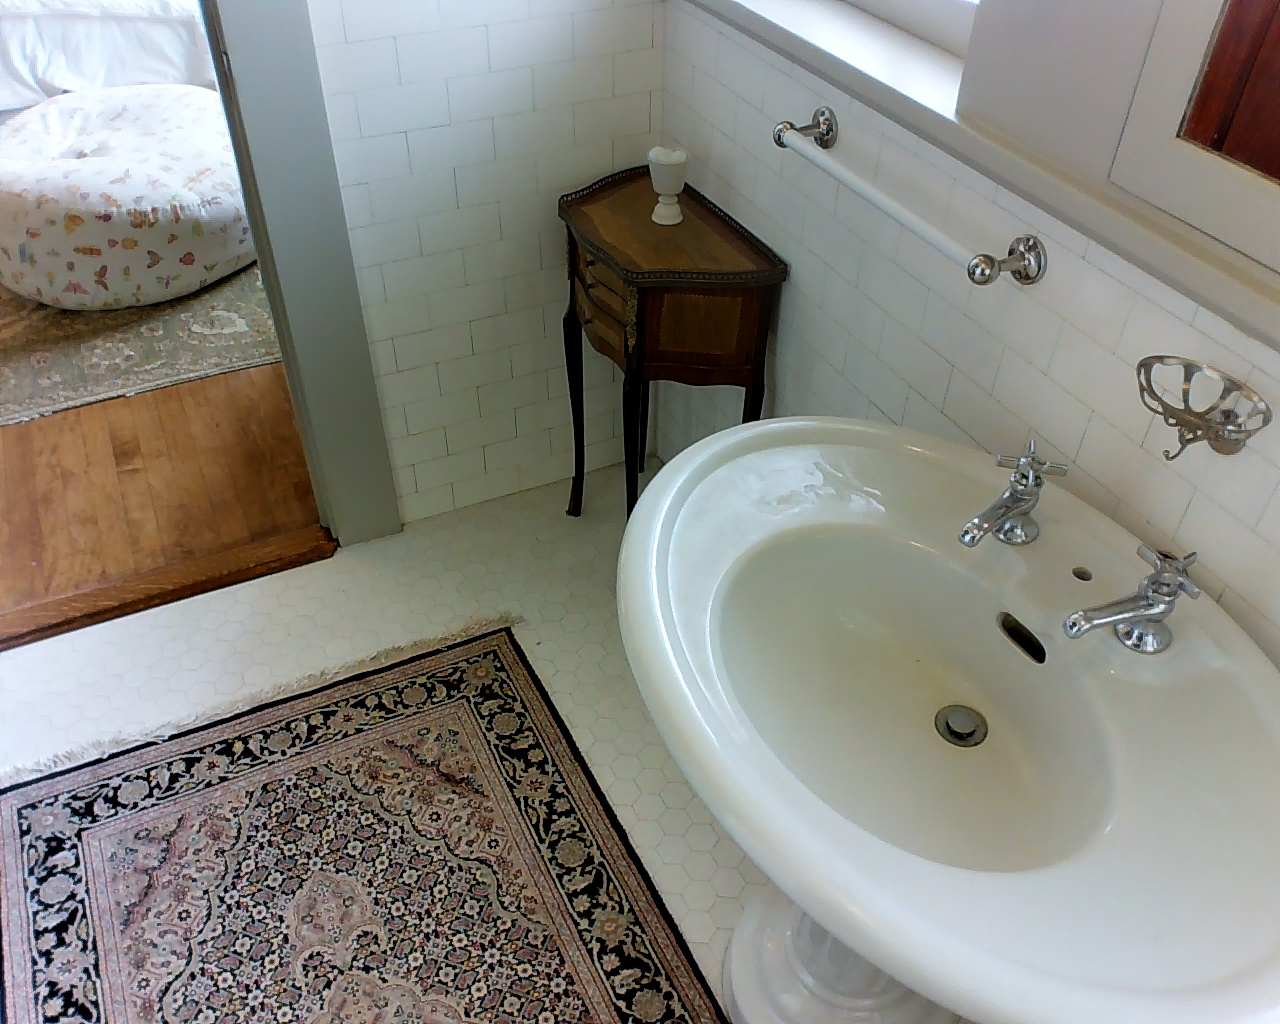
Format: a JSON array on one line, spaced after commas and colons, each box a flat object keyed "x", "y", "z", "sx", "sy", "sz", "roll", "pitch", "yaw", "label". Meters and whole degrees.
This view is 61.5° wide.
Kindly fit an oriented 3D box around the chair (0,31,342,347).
[{"x": -1.520, "y": -1.000, "z": 3.180, "sx": 0.980, "sy": 0.400, "sz": 0.980, "roll": -17, "pitch": 45, "yaw": -19, "label": "chair"}]
